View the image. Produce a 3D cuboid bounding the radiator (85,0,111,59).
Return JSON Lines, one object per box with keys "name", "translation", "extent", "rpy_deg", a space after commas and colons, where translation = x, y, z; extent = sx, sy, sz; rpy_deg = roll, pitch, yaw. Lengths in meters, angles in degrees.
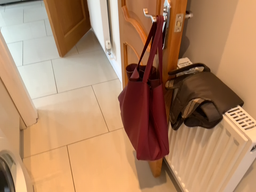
{"name": "radiator", "translation": [-0.320, -0.830, 2.050], "extent": [0.100, 0.670, 0.680], "rpy_deg": [-12, 44, -12]}
